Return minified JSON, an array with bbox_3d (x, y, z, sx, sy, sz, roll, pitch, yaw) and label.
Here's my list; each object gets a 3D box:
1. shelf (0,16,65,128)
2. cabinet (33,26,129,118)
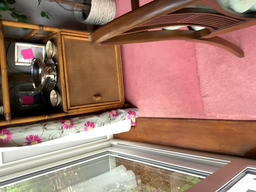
[{"bbox_3d":[-1.020,-0.120,1.270,0.490,1.080,0.640,-4,91,48],"label":"shelf"},{"bbox_3d":[-0.400,-0.170,1.840,0.490,0.610,0.630,-4,91,48],"label":"cabinet"}]
